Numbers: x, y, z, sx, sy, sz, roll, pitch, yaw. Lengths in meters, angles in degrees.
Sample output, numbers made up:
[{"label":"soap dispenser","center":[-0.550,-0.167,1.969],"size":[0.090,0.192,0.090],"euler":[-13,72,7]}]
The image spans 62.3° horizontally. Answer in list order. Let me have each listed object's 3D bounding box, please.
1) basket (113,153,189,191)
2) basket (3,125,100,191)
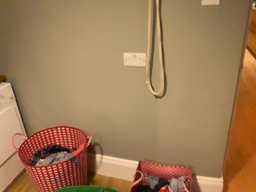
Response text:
[{"label":"basket","center":[0.170,0.700,1.460],"size":[0.440,0.310,0.440],"euler":[5,28,17]},{"label":"basket","center":[-0.550,0.560,1.700],"size":[0.490,0.430,0.500],"euler":[1,26,8]}]
